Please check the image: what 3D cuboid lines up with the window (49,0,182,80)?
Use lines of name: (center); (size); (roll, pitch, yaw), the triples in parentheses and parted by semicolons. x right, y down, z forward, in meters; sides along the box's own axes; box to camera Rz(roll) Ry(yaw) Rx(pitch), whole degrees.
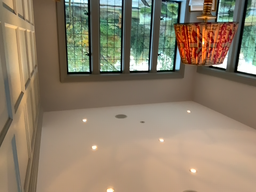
window: (-0.140, -1.300, 4.610); (2.900, 1.810, 0.100); (-4, -163, -23)
